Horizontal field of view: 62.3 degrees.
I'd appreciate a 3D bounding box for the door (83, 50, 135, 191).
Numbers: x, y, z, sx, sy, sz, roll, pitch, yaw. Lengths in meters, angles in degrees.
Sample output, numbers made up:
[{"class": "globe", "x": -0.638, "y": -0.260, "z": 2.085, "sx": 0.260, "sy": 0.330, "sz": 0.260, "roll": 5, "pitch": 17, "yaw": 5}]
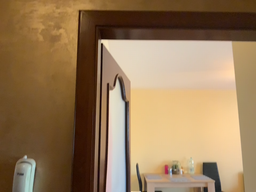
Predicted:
[{"class": "door", "x": -0.070, "y": 0.840, "z": 1.240, "sx": 0.110, "sy": 2.000, "sz": 0.840, "roll": -1, "pitch": -10, "yaw": 10}]
